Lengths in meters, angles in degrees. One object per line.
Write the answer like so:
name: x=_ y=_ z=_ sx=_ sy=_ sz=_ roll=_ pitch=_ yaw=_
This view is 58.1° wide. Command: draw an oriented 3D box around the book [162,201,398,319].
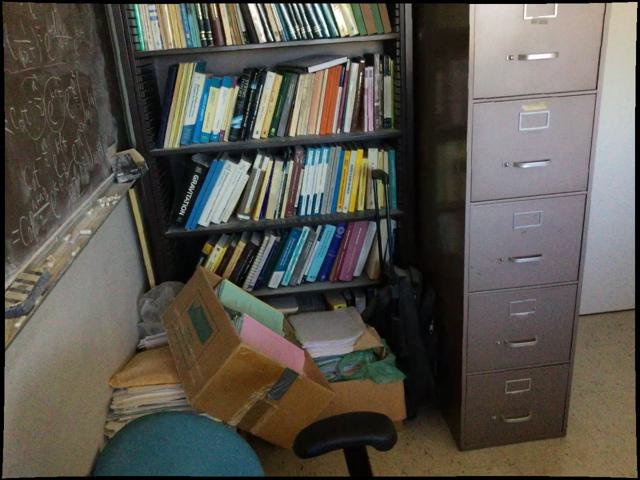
book: x=-0.150 y=0.070 z=2.320 sx=0.868 sy=0.291 sz=0.260 roll=-7 pitch=20 yaw=-3

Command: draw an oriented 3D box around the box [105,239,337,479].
box: x=-0.289 y=0.371 z=1.920 sx=0.569 sy=0.471 sz=0.690 roll=-7 pitch=20 yaw=-3

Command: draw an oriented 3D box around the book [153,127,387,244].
book: x=-0.180 y=-0.221 z=2.240 sx=0.828 sy=0.301 sz=0.250 roll=-7 pitch=20 yaw=-3

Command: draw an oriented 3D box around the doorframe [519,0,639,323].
doorframe: x=1.386 y=-0.652 z=2.360 sx=1.097 sy=2.035 sz=0.090 roll=-7 pitch=20 yaw=-3

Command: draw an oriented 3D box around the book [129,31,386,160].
book: x=-0.209 y=-0.541 z=2.110 sx=0.838 sy=0.341 sz=0.300 roll=-7 pitch=20 yaw=-3
